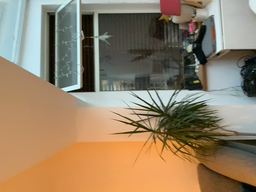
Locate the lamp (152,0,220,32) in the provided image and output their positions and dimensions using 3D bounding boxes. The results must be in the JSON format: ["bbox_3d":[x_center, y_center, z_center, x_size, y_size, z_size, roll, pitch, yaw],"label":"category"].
[{"bbox_3d":[0.580,-0.950,2.280,0.550,0.550,0.330,118,151,-85],"label":"lamp"}]

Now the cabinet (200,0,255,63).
[{"bbox_3d":[1.190,-0.750,2.120,0.430,0.750,0.740,107,162,-83],"label":"cabinet"}]
